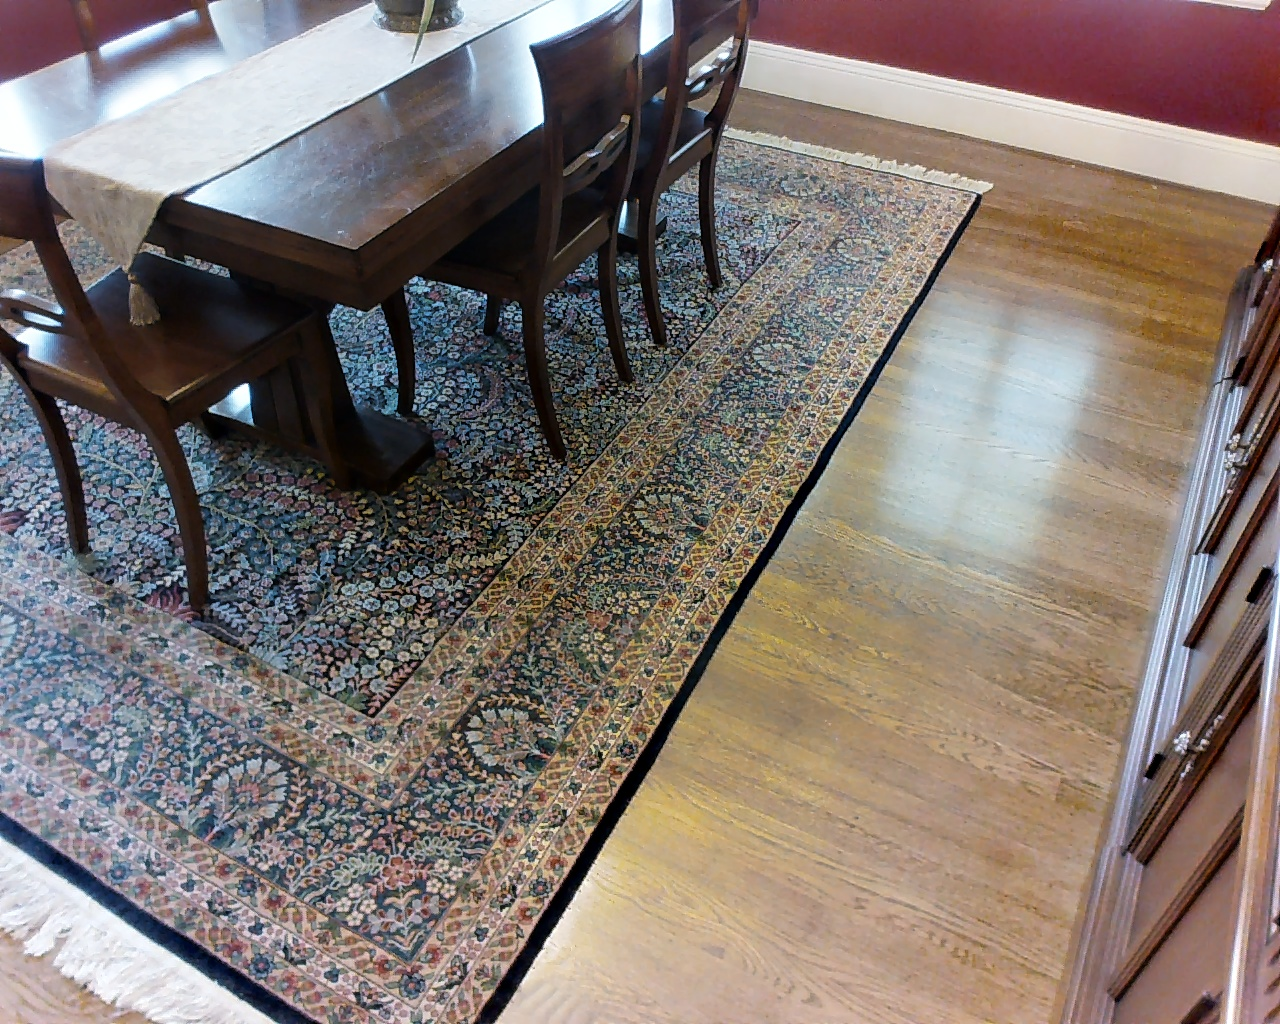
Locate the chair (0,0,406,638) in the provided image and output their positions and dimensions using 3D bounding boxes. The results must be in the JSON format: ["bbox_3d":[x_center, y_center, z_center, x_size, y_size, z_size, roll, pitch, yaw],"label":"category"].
[{"bbox_3d":[-0.870,-0.370,2.030,0.420,0.960,0.640,20,46,20],"label":"chair"}]

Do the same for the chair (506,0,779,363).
[{"bbox_3d":[0.010,-0.950,2.680,0.480,0.970,0.430,21,46,20],"label":"chair"}]
